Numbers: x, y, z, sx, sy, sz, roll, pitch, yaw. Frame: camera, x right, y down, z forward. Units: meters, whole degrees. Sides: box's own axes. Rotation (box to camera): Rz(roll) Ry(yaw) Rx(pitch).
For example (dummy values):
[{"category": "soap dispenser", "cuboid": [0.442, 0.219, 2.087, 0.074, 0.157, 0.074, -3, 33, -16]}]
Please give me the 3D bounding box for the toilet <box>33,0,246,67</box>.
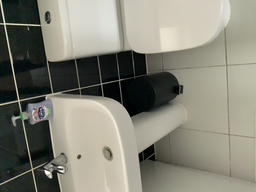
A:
[{"category": "toilet", "cuboid": [0.100, -0.380, 0.970, 0.630, 0.760, 0.380, 2, 103, 40]}]
